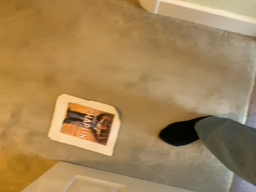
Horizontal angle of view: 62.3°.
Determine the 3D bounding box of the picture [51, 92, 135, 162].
[{"bbox_3d":[-0.150,0.130,0.920,0.310,0.040,0.220,15,89,2],"label":"picture"}]
